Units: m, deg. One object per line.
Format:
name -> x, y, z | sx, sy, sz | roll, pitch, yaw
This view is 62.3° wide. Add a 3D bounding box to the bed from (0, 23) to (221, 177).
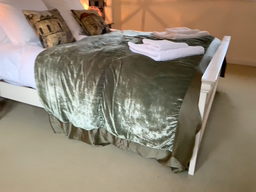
bed -> -0.300, -0.310, 2.290 | 2.110, 0.670, 1.620 | 14, 27, 27
